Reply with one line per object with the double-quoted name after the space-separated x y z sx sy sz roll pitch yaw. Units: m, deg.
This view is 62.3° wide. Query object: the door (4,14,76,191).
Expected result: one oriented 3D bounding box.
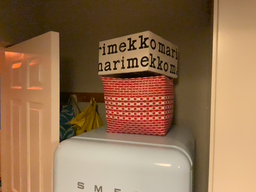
-0.600 0.610 1.350 0.780 2.030 0.100 4 4 43 "door"
